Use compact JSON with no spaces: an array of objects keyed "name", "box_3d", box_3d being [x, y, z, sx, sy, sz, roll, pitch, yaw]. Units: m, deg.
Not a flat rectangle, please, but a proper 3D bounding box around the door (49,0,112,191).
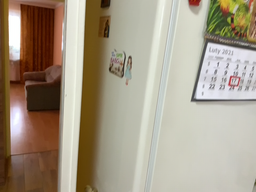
[{"name":"door","box_3d":[-0.290,0.290,0.960,0.110,2.020,0.790,1,15,-21]}]
